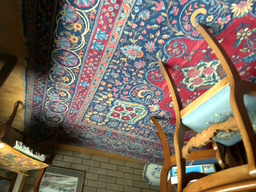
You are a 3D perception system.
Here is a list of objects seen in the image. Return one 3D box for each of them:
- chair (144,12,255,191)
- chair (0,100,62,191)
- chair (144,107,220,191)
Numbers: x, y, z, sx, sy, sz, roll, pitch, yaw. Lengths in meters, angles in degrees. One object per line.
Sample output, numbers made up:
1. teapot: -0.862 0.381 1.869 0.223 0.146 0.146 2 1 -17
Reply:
1. chair: 0.470 0.140 1.140 0.530 0.910 0.550 24 136 -24
2. chair: -1.030 0.530 1.850 0.540 0.740 0.480 -19 137 25
3. chair: 0.420 0.610 1.740 0.480 0.910 0.440 -7 140 11
